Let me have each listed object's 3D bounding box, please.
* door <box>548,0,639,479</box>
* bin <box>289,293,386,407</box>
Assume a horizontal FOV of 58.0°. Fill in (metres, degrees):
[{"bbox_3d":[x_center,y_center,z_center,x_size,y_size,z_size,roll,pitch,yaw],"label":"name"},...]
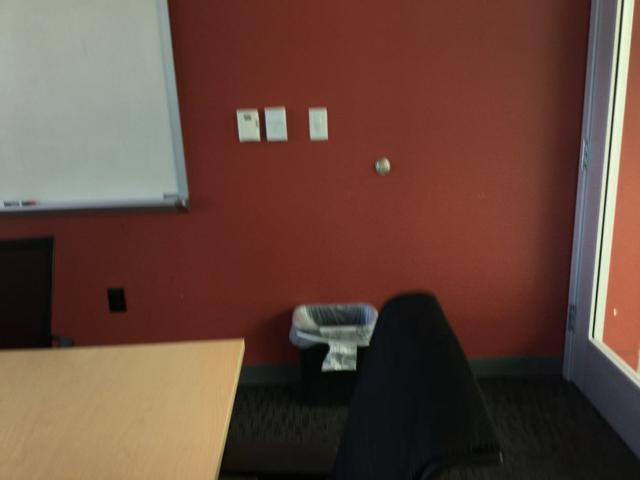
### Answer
[{"bbox_3d":[1.180,-0.090,2.070,0.260,1.650,0.780,-1,14,-2],"label":"door"},{"bbox_3d":[0.070,0.480,2.580,0.400,0.410,0.290,-1,14,-1],"label":"bin"}]
